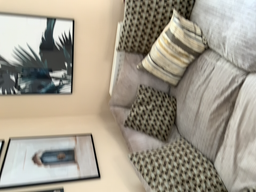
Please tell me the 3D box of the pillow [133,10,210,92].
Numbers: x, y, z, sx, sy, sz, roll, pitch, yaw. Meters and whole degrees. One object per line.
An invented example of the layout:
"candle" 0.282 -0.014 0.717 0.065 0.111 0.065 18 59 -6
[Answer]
"pillow" 0.300 -0.320 1.680 0.550 0.300 0.330 120 144 -54
